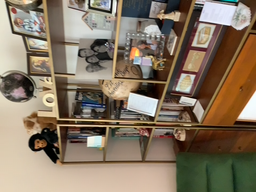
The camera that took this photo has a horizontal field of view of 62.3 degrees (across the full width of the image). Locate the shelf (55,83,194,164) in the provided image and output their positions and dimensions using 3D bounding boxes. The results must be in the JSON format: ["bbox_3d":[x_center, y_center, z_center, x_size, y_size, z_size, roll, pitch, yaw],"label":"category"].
[{"bbox_3d":[-0.050,0.250,1.780,0.400,0.970,0.520,-96,13,-48],"label":"shelf"}]
